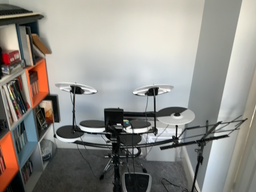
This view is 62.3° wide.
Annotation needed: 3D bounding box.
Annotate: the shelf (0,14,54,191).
[{"bbox_3d":[-0.980,0.130,1.670,0.280,1.400,1.090,2,23,0],"label":"shelf"}]
